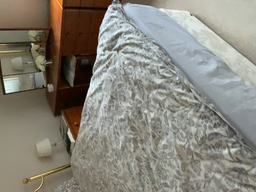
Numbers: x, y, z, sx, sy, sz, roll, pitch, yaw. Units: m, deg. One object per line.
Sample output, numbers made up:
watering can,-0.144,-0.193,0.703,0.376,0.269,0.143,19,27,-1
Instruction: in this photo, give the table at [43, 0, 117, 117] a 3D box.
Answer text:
table,-0.730,-0.490,2.840,0.500,0.620,1.650,56,142,31
